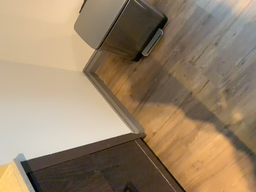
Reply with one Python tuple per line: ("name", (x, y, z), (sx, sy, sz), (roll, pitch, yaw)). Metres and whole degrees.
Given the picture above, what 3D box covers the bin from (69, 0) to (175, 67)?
("bin", (-0.020, -0.450, 1.310), (0.300, 0.470, 0.370), (48, 113, 24))
